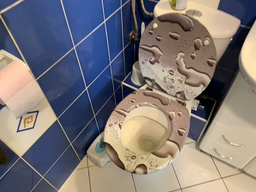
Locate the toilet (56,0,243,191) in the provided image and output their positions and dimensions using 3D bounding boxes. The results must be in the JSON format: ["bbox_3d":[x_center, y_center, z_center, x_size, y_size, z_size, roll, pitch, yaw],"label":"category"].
[{"bbox_3d":[0.130,0.050,1.070,0.390,0.820,0.660,25,58,19],"label":"toilet"}]

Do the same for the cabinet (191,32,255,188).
[{"bbox_3d":[0.670,0.150,1.030,0.500,0.740,0.270,25,58,19],"label":"cabinet"}]
